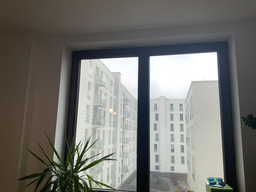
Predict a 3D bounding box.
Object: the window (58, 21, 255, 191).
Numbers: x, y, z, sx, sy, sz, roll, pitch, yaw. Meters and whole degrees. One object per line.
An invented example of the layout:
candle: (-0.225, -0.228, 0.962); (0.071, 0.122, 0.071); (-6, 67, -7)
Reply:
window: (0.200, 0.180, 2.170); (1.850, 1.780, 0.110); (-1, -11, 14)
